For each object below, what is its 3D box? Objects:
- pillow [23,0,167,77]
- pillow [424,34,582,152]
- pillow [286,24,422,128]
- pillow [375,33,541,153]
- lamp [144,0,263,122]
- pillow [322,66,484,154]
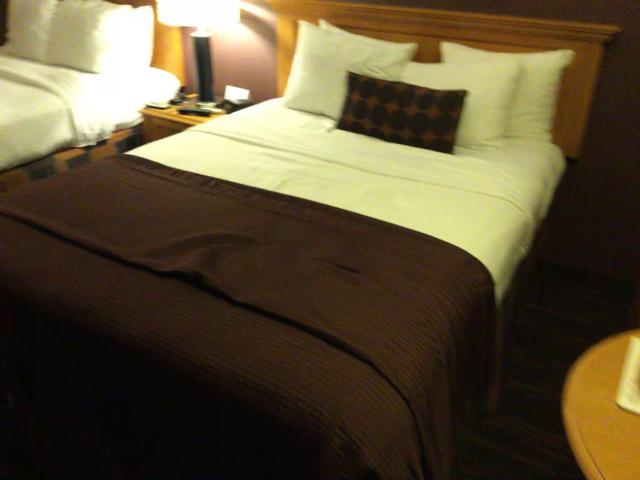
[{"bbox_3d":[-1.260,-1.180,3.250,0.660,0.380,0.390,16,28,26],"label":"pillow"},{"bbox_3d":[0.740,-0.620,2.390,0.530,0.380,0.200,16,28,26],"label":"pillow"},{"bbox_3d":[0.150,-0.760,2.620,0.480,0.360,0.350,16,28,26],"label":"pillow"},{"bbox_3d":[0.570,-0.630,2.400,0.530,0.360,0.390,16,28,26],"label":"pillow"},{"bbox_3d":[-0.580,-1.030,2.940,0.400,0.720,0.420,16,28,26],"label":"lamp"},{"bbox_3d":[0.330,-0.550,2.380,0.590,0.230,0.240,16,28,26],"label":"pillow"}]
